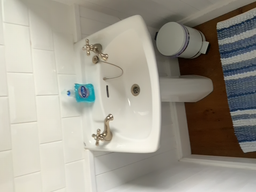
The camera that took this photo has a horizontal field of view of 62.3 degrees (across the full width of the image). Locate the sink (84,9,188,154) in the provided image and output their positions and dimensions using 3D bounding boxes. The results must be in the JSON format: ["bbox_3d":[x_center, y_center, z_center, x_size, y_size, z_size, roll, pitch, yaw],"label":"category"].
[{"bbox_3d":[0.020,-0.040,1.010,0.380,0.230,0.550,-11,85,46],"label":"sink"}]
